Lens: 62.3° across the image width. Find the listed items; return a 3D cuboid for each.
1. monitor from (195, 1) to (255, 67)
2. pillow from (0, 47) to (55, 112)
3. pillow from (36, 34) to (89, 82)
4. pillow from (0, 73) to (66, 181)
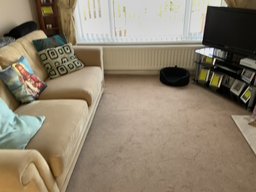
[{"bbox_3d":[1.270,-0.790,2.620,0.050,0.620,0.960,-17,34,-28],"label":"monitor"},{"bbox_3d":[-1.020,-0.180,2.070,0.230,0.400,0.540,-21,24,15],"label":"pillow"},{"bbox_3d":[-0.810,-0.470,2.640,0.480,0.370,0.190,-40,19,-23],"label":"pillow"},{"bbox_3d":[-0.850,0.170,1.510,0.260,0.490,0.610,-57,1,30],"label":"pillow"}]
